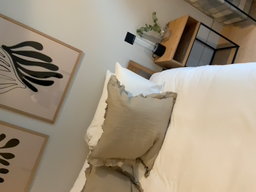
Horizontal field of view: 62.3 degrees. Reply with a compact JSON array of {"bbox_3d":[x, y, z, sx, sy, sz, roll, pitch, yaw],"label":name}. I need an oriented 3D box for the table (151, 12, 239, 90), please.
[{"bbox_3d":[0.600,-0.370,1.920,0.300,0.610,0.430,12,80,68],"label":"table"}]

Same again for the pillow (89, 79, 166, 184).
[{"bbox_3d":[0.000,0.180,1.320,0.220,0.420,0.560,4,95,58],"label":"pillow"}]

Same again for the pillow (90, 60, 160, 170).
[{"bbox_3d":[-0.030,0.120,1.530,0.210,0.410,0.710,-162,74,-63],"label":"pillow"}]
